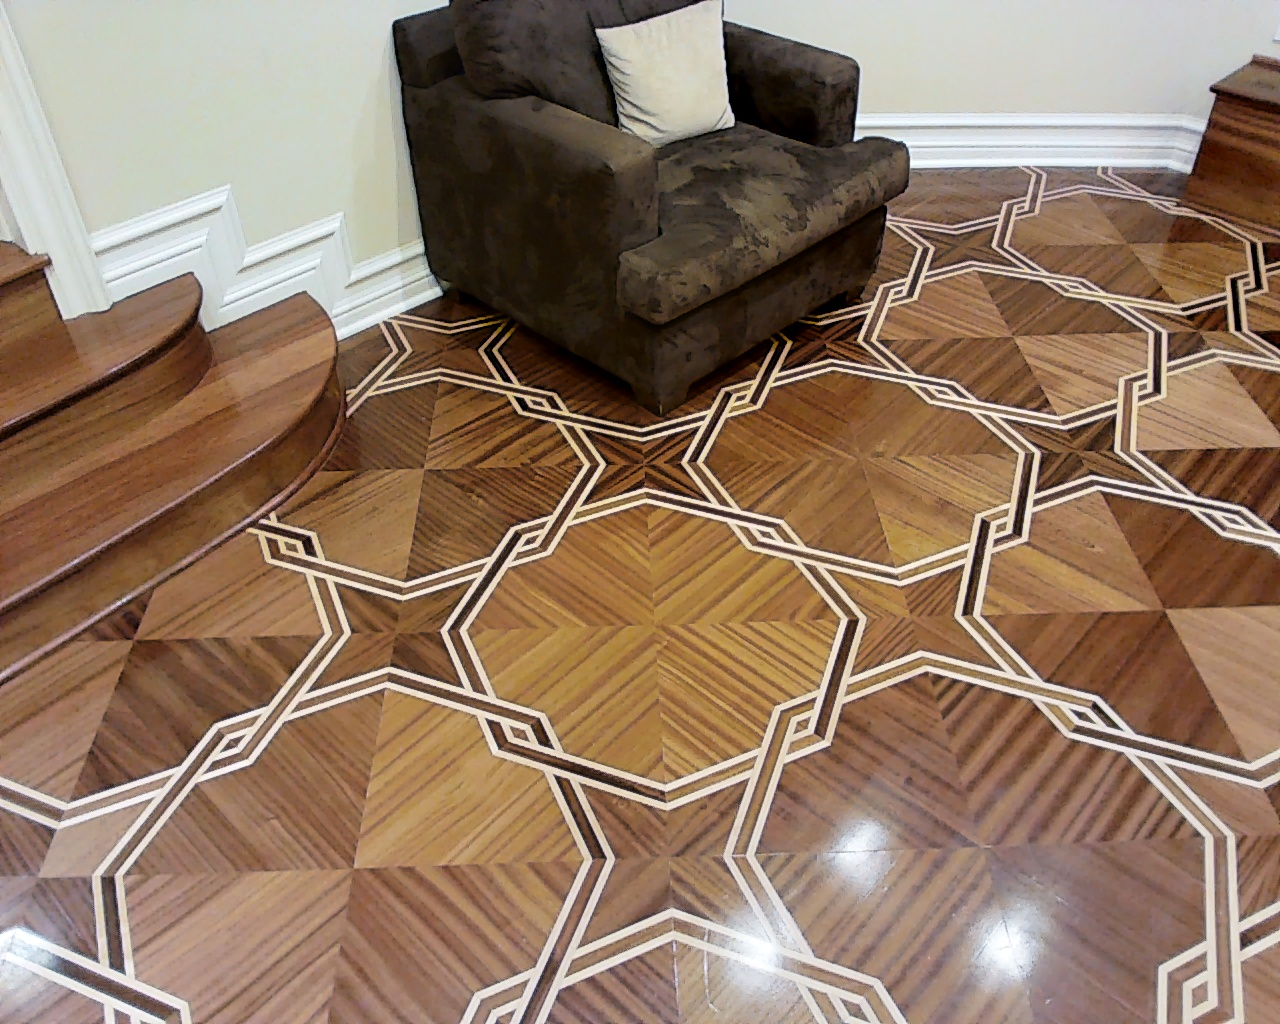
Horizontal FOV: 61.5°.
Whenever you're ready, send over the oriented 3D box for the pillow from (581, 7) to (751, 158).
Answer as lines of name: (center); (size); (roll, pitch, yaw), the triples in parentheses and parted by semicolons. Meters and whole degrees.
pillow: (0.070, -1.180, 2.980); (0.370, 0.330, 0.190); (-14, 42, -37)
